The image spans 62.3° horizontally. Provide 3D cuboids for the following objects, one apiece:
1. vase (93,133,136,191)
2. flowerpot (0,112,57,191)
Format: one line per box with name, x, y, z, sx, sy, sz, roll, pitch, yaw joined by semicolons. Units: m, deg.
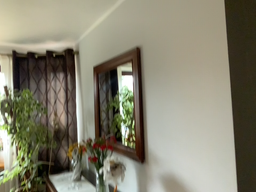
vase;-0.130;0.610;1.860;0.230;0.500;0.380;-2;-2;-27
flowerpot;-1.220;0.920;2.650;0.470;1.400;0.420;-3;-2;8
